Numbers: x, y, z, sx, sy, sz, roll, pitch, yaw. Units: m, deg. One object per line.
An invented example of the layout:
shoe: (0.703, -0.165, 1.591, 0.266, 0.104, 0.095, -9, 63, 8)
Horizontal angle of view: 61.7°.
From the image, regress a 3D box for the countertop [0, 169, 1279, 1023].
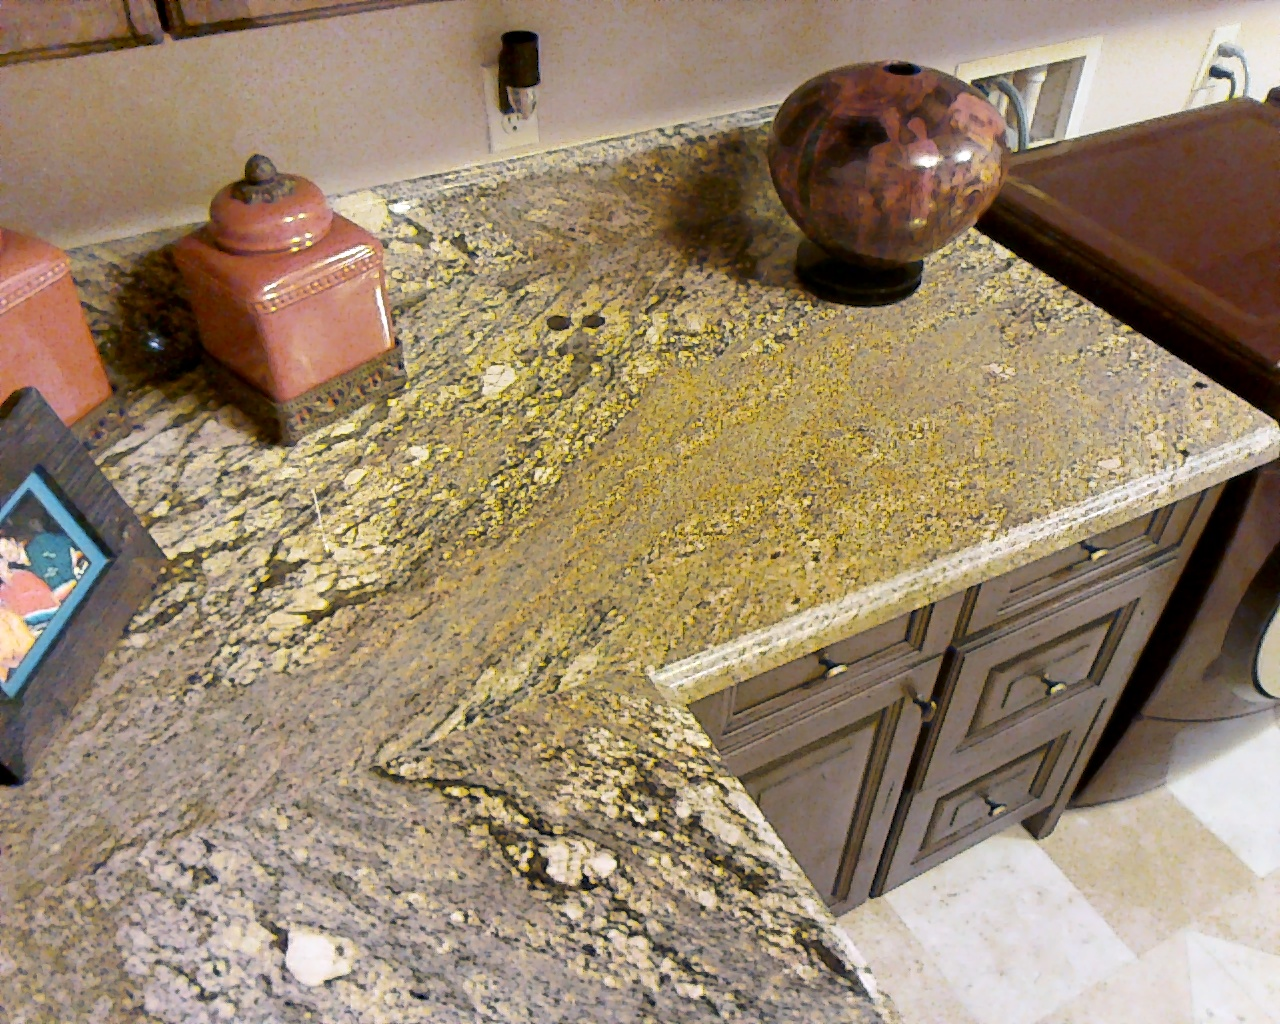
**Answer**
countertop: (0.460, 0.580, 0.540, 1.590, 0.080, 2.930, -20, 46, -21)

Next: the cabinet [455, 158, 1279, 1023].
cabinet: (0.280, 0.140, 1.660, 0.800, 0.970, 0.760, -20, 46, -21)
